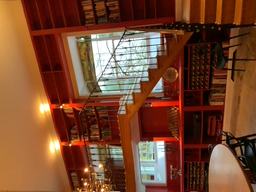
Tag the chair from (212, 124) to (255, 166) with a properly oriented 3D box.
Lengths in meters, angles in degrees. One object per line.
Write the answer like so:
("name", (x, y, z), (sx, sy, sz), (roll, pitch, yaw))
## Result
("chair", (1.610, 0.630, 2.790), (0.470, 0.800, 0.500), (54, -146, -77))
